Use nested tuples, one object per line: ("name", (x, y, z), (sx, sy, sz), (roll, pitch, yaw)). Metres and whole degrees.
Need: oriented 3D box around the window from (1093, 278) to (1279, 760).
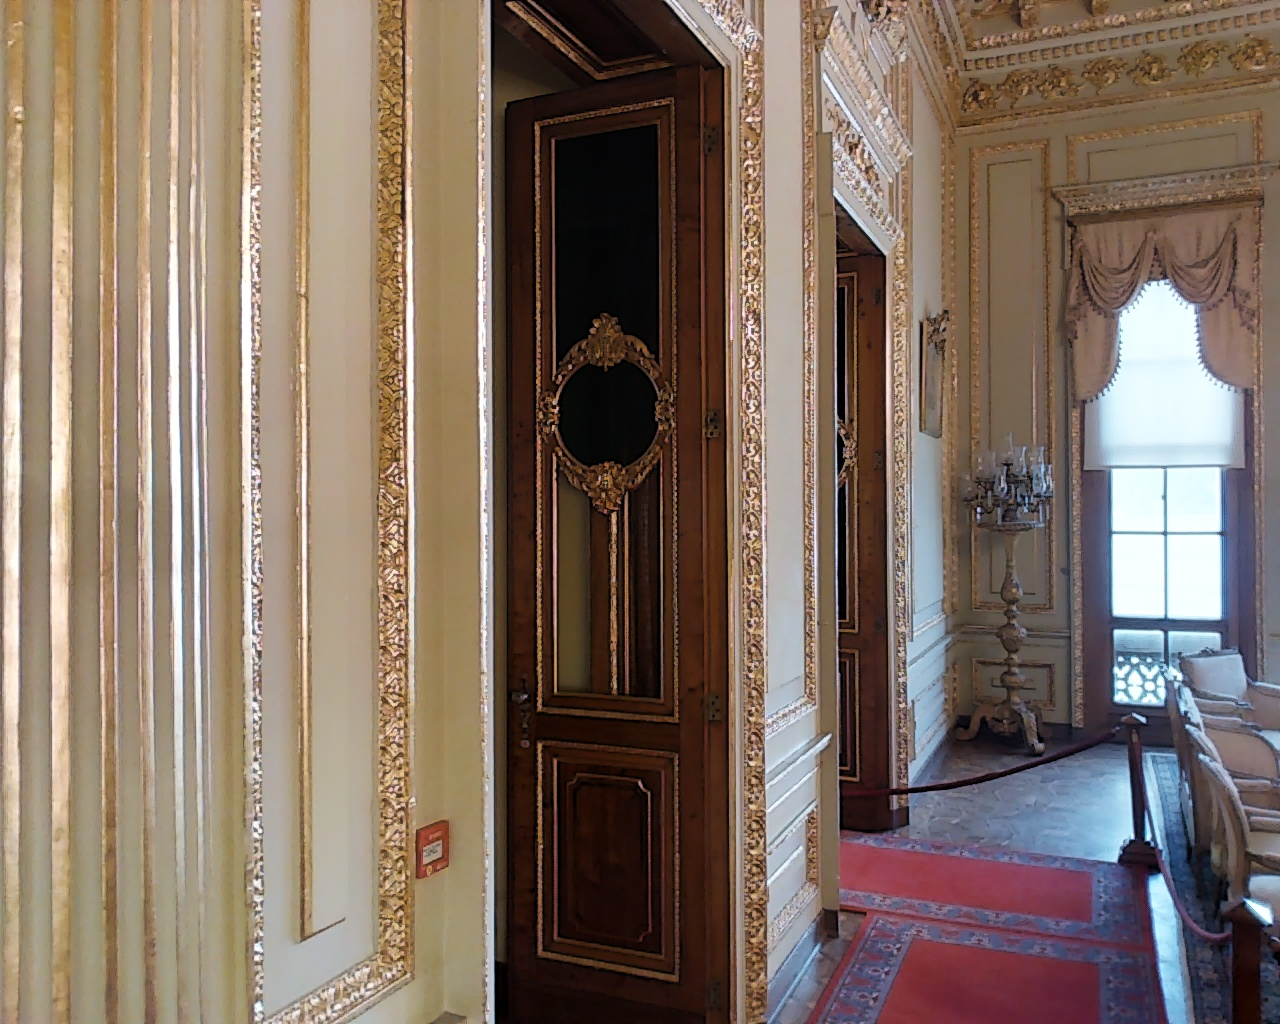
("window", (6.257, 0.040, 7.870), (5.388, 3.742, 0.250), (-1, -1, 25))
